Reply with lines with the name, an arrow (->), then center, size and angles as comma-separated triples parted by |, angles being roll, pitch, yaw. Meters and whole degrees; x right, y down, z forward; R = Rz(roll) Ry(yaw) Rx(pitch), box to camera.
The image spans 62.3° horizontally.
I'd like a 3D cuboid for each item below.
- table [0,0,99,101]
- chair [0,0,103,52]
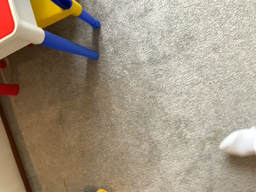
table -> -0.530, -0.320, 0.850 | 0.530, 0.440, 0.540 | -23, 85, 17
chair -> -0.370, -0.420, 0.790 | 0.280, 0.460, 0.350 | -23, 86, 17
